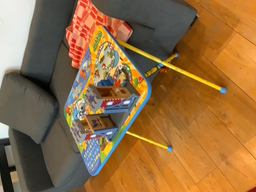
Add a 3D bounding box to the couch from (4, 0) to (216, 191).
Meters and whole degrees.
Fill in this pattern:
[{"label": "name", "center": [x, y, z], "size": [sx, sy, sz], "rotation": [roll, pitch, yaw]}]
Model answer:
[{"label": "couch", "center": [-0.370, -0.040, 1.600], "size": [0.780, 0.670, 1.820], "rotation": [54, 129, 32]}]
